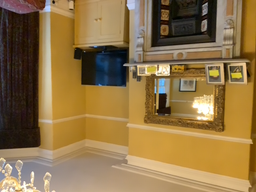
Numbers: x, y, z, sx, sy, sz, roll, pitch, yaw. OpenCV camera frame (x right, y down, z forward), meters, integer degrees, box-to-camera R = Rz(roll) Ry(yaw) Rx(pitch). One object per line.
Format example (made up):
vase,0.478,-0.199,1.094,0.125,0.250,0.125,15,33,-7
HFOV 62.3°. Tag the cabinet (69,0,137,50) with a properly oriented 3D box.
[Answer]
cabinet,-0.500,-1.430,4.150,1.250,0.890,0.530,3,-175,31

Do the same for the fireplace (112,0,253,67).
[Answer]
fireplace,0.740,-1.110,3.040,1.800,1.290,0.760,2,-175,29

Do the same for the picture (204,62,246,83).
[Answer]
picture,1.300,-0.310,2.860,0.490,0.260,0.170,3,-174,27
